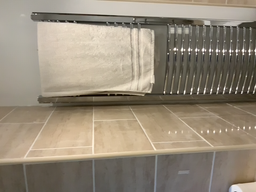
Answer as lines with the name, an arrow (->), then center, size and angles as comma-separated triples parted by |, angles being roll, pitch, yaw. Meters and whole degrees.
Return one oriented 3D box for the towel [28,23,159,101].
towel -> -0.160, -0.170, 1.090 | 0.100, 0.610, 0.360 | -126, 36, -74
